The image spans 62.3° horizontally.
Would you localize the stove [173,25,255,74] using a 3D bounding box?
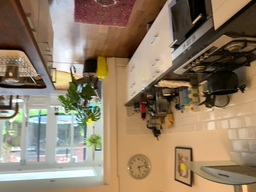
[{"bbox_3d":[0.750,-0.300,1.580,0.560,0.040,0.720,1,169,-13],"label":"stove"}]
